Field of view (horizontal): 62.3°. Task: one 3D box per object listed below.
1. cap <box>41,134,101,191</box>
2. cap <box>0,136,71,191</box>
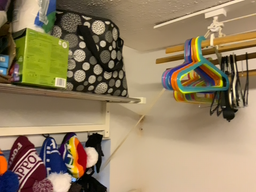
[{"bbox_3d":[-0.300,0.370,1.140,0.180,0.290,0.240,-1,-5,41],"label":"cap"},{"bbox_3d":[-0.420,0.350,0.970,0.190,0.290,0.230,-1,-5,40],"label":"cap"}]
